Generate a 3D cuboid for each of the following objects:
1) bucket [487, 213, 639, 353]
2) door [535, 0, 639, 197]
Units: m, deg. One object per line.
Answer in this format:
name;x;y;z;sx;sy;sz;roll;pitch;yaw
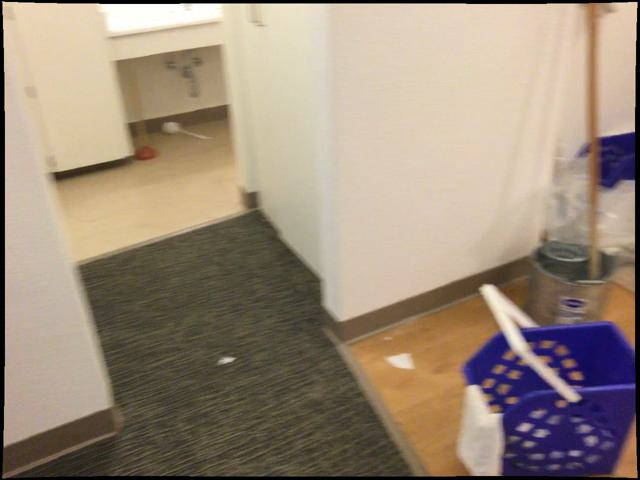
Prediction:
bucket;0.858;0.140;2.080;0.319;0.291;0.350;-18;32;-23
door;1.476;-0.973;2.600;1.048;1.383;0.100;-18;32;-23
